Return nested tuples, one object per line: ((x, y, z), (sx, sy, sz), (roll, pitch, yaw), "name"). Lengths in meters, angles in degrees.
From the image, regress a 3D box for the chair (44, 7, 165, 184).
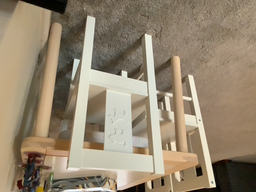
((-0.100, 0.020, 0.790), (0.290, 0.520, 0.340), (11, 148, -19), "chair")
